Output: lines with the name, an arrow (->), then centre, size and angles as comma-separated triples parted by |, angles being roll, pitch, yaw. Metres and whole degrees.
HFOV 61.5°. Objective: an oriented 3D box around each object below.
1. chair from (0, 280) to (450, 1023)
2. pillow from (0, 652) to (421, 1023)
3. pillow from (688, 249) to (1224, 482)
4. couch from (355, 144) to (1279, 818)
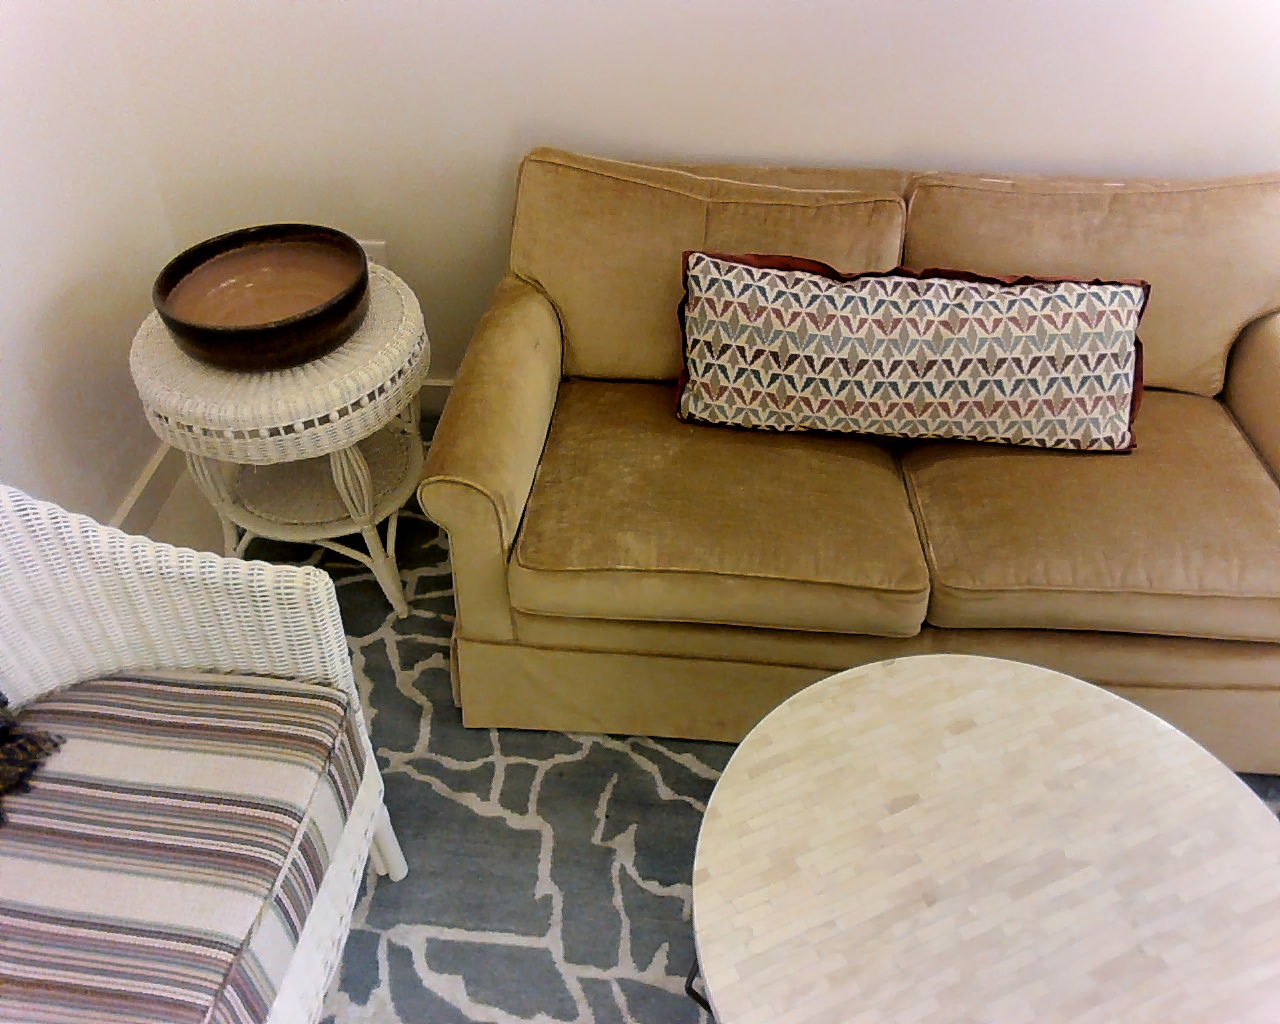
chair -> -0.750, 0.350, 1.250 | 0.800, 0.970, 0.750 | 3, 41, 3
pillow -> -0.560, 0.470, 1.330 | 0.430, 0.310, 0.470 | 4, 41, 4
pillow -> 0.510, -0.260, 1.890 | 0.830, 0.270, 0.250 | 3, 41, 3
couch -> 0.500, -0.110, 1.990 | 1.690, 0.690, 1.000 | 3, 41, 3
